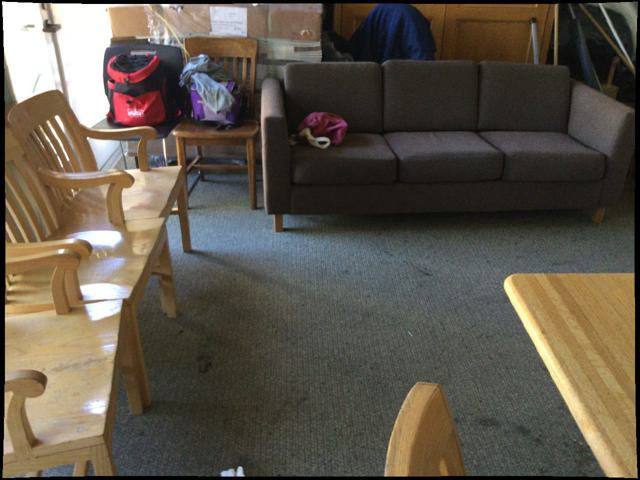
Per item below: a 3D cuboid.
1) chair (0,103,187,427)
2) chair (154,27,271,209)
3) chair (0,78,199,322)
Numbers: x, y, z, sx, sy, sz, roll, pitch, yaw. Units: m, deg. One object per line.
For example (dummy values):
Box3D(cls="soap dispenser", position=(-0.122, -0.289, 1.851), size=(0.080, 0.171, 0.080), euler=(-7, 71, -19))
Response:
Box3D(cls="chair", position=(-0.919, 0.050, 1.980), size=(0.719, 0.821, 0.760), euler=(-1, 30, -3))
Box3D(cls="chair", position=(-0.559, -0.701, 3.280), size=(0.519, 0.851, 0.620), euler=(-1, 30, -3))
Box3D(cls="chair", position=(-0.959, -0.190, 2.440), size=(0.729, 0.801, 0.670), euler=(-1, 30, -3))
